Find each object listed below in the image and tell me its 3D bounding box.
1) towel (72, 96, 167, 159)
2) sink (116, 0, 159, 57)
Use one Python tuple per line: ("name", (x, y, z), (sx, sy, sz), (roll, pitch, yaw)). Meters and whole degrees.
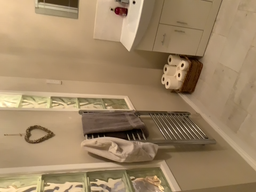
("towel", (-0.100, 0.200, 1.550), (0.520, 0.580, 0.150), (-118, 35, -57))
("sink", (0.100, -0.880, 2.020), (0.500, 0.190, 0.870), (-119, 36, -57))
